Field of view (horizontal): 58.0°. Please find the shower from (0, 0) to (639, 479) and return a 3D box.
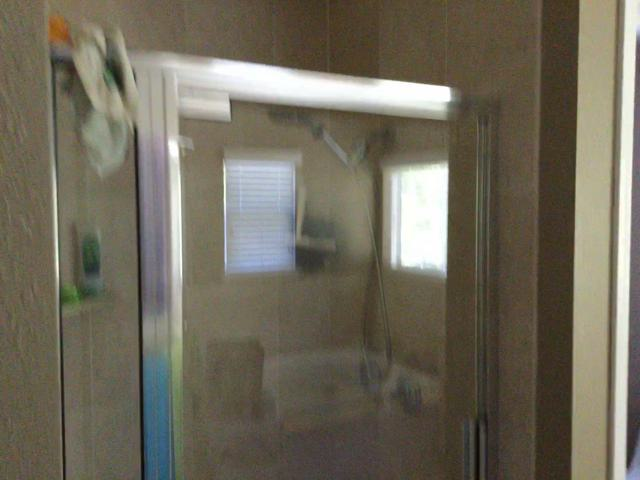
[{"bbox_3d":[-0.110,0.520,1.500,1.460,2.010,1.050,-4,1,-28],"label":"shower"}]
